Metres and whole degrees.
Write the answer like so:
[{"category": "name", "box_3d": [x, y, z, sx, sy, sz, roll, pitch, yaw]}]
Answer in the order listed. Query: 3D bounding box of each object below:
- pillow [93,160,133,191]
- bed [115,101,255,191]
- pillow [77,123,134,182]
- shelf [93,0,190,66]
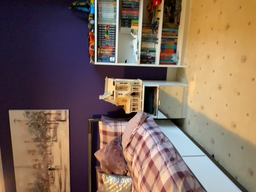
[{"category": "pillow", "box_3d": [-0.150, 1.000, 2.330, 0.170, 0.350, 0.460, -134, 30, -74]}, {"category": "bed", "box_3d": [0.340, 1.110, 2.070, 2.000, 0.730, 1.660, -124, 35, -74]}, {"category": "pillow", "box_3d": [-0.260, 0.640, 2.440, 0.450, 0.460, 0.190, 57, 175, -17]}, {"category": "shelf", "box_3d": [0.120, -0.810, 2.450, 0.350, 1.040, 0.870, -124, 35, -74]}]
